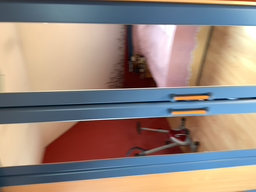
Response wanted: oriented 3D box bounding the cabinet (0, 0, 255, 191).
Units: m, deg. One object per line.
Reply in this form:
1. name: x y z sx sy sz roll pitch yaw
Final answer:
1. cabinet: 0.240 0.280 1.560 0.660 2.200 1.910 -105 16 -56
